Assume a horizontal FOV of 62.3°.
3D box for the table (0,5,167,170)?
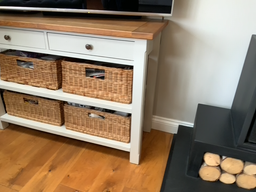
[{"bbox_3d":[-0.430,-0.120,1.500,1.240,0.860,0.480,10,29,13],"label":"table"}]
